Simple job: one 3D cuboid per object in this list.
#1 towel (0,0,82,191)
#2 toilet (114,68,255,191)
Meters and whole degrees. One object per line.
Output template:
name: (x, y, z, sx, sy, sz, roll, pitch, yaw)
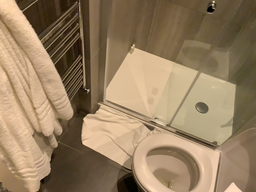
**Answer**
towel: (-0.360, 0.060, 0.780, 0.190, 1.080, 0.350, 22, 53, 7)
toilet: (0.320, 0.390, 1.060, 0.650, 0.810, 0.410, 22, 53, 7)
